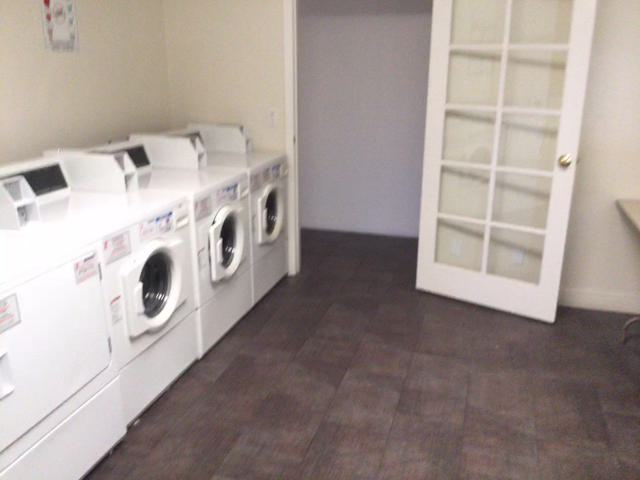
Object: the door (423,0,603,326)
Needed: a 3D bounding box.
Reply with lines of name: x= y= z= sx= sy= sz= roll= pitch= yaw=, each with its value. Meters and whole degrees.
door: x=1.030 y=-0.550 z=3.290 sx=0.900 sy=2.000 sz=0.160 roll=12 pitch=24 yaw=37
